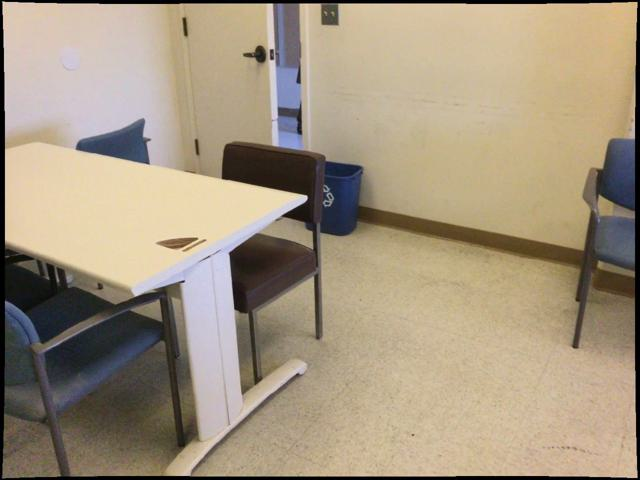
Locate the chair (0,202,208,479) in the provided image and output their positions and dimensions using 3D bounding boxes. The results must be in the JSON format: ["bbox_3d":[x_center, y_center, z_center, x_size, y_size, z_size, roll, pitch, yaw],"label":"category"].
[{"bbox_3d":[-0.788,0.341,1.740,0.619,0.691,0.510,13,29,30],"label":"chair"}]

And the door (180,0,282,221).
[{"bbox_3d":[-0.559,-1.003,3.510,0.100,1.664,0.789,-21,30,-38],"label":"door"}]

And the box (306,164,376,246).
[{"bbox_3d":[0.130,-0.211,3.340,0.270,0.351,0.310,13,29,31],"label":"box"}]

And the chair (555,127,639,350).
[{"bbox_3d":[1.317,-0.020,2.240,0.609,0.651,0.650,9,28,25],"label":"chair"}]
